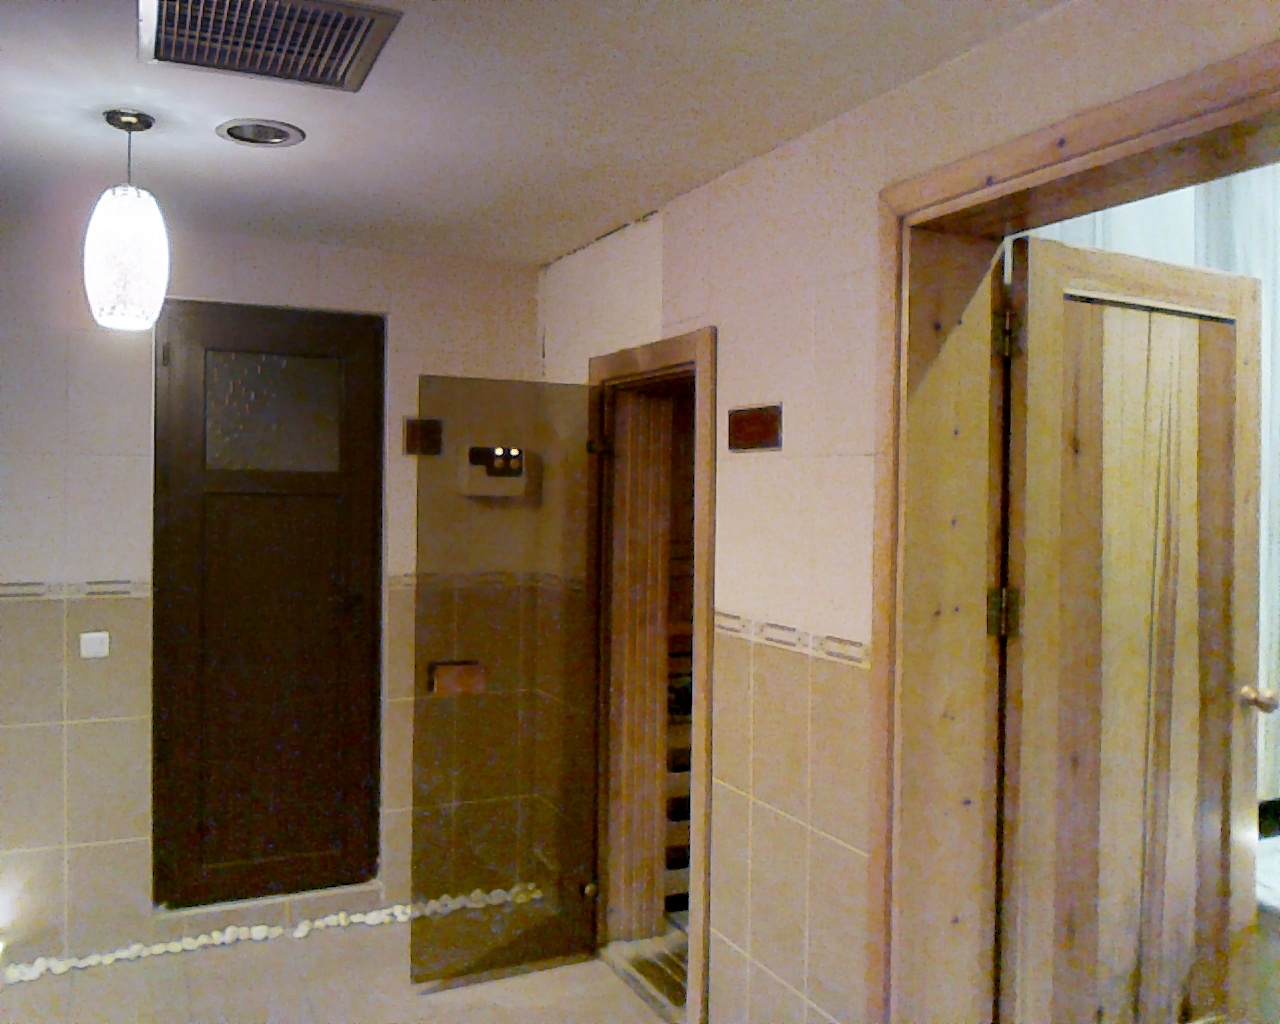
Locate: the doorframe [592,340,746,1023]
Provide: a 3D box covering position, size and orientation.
[{"bbox_3d":[0.070,0.530,3.330,0.180,2.020,0.670,0,0,-25],"label":"doorframe"}]

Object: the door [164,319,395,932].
[{"bbox_3d":[-1.250,0.380,3.770,0.750,2.040,0.070,0,0,-25],"label":"door"}]
